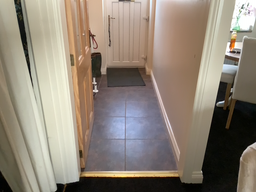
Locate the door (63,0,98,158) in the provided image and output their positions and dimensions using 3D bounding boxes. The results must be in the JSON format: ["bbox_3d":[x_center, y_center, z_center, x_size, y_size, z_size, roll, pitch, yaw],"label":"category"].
[{"bbox_3d":[-0.390,-0.500,1.880,0.100,1.970,0.820,1,25,-2],"label":"door"}]

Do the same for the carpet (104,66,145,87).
[{"bbox_3d":[-0.090,-0.390,3.970,0.680,0.060,0.990,0,25,-4],"label":"carpet"}]

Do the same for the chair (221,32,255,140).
[{"bbox_3d":[1.430,-0.110,2.260,0.590,0.990,0.590,12,27,22],"label":"chair"}]
